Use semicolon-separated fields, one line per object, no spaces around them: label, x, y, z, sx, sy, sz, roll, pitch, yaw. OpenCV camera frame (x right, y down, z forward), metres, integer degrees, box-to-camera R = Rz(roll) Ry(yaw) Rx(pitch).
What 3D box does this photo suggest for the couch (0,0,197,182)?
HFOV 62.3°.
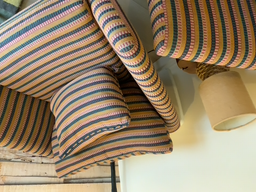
couch;-0.260;-0.050;1.160;0.910;0.770;0.820;-20;149;19
